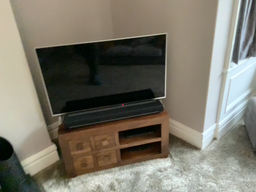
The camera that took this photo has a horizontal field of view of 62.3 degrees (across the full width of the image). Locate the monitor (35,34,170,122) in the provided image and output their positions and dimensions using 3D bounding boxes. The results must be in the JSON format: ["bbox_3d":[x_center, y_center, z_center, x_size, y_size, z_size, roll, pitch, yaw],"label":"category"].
[{"bbox_3d":[-0.170,-0.160,1.940,1.130,0.670,0.060,-9,28,-10],"label":"monitor"}]
